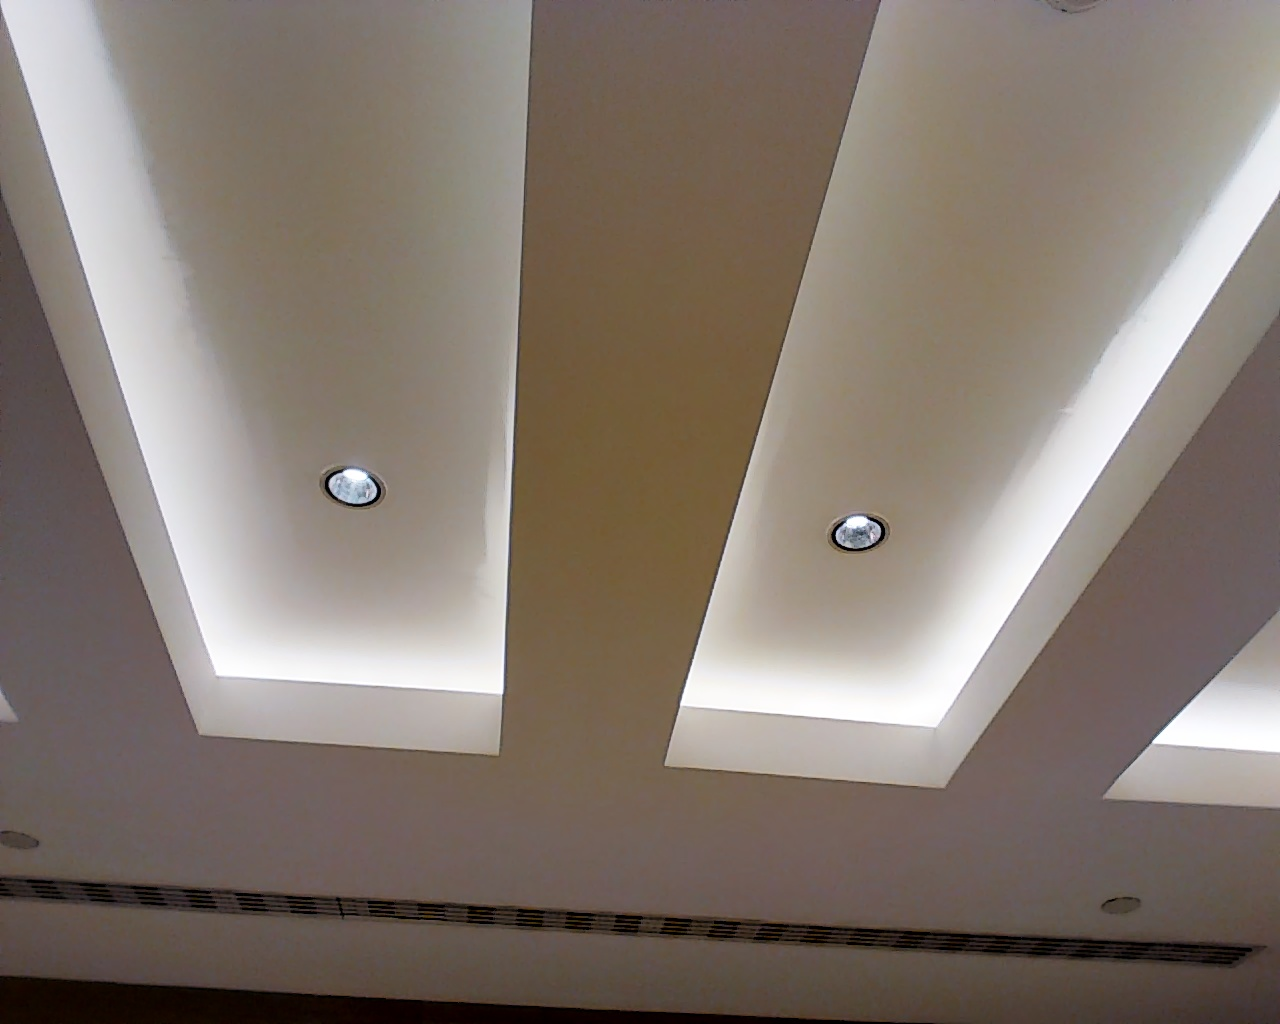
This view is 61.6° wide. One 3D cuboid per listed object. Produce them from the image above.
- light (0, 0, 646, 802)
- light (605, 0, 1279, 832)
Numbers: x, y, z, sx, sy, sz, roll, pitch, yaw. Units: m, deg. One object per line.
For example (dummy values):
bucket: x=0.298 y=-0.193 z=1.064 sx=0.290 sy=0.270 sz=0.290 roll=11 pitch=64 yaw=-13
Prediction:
light: x=-0.370 y=-0.530 z=1.000 sx=0.750 sy=0.230 sz=2.961 roll=4 pitch=-41 yaw=-4
light: x=0.480 y=-0.460 z=1.060 sx=0.730 sy=0.230 sz=2.981 roll=5 pitch=-41 yaw=-5
